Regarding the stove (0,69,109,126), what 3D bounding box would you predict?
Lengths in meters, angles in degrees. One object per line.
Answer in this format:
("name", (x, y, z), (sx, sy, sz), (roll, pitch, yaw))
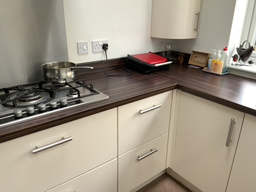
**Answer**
("stove", (-0.570, -0.020, 1.220), (0.730, 0.040, 0.560), (-16, 28, -37))
